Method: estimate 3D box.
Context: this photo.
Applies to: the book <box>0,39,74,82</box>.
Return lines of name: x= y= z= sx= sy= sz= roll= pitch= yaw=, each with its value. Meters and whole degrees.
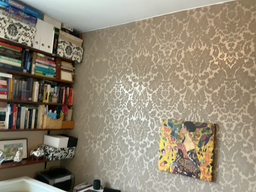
book: x=-0.980 y=-0.330 z=2.220 sx=0.210 sy=0.240 sz=0.880 roll=1 pitch=-5 yaw=32
